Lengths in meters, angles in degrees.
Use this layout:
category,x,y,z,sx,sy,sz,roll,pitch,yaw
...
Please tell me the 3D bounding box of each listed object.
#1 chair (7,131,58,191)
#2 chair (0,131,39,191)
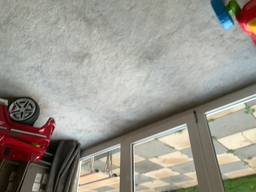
category,x,y,z,sx,sy,sz,roll,pitch,yaw
chair,-1.020,0.870,2.250,0.110,0.930,0.370,-25,137,30
chair,-1.270,0.870,2.260,0.190,0.910,0.360,-27,136,32
